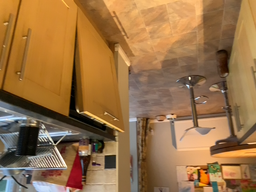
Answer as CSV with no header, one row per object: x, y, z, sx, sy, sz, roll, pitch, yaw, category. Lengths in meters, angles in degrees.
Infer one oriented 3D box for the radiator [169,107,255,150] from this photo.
1.580,0.660,4.130,1.480,0.680,0.170,-9,158,21,radiator

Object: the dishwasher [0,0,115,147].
-0.480,-0.130,1.580,0.580,0.900,0.600,-7,159,16,dishwasher

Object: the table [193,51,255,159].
1.450,0.180,2.450,1.130,0.960,1.090,-9,159,20,table
